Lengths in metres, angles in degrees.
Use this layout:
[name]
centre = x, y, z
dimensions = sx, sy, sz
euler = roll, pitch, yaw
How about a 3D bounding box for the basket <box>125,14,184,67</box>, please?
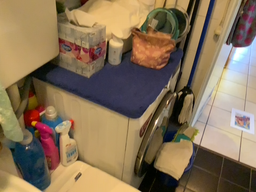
[basket]
centre = 0.130, -0.280, 1.040
dimensions = 0.180, 0.140, 0.240
euler = 24, 42, 21
